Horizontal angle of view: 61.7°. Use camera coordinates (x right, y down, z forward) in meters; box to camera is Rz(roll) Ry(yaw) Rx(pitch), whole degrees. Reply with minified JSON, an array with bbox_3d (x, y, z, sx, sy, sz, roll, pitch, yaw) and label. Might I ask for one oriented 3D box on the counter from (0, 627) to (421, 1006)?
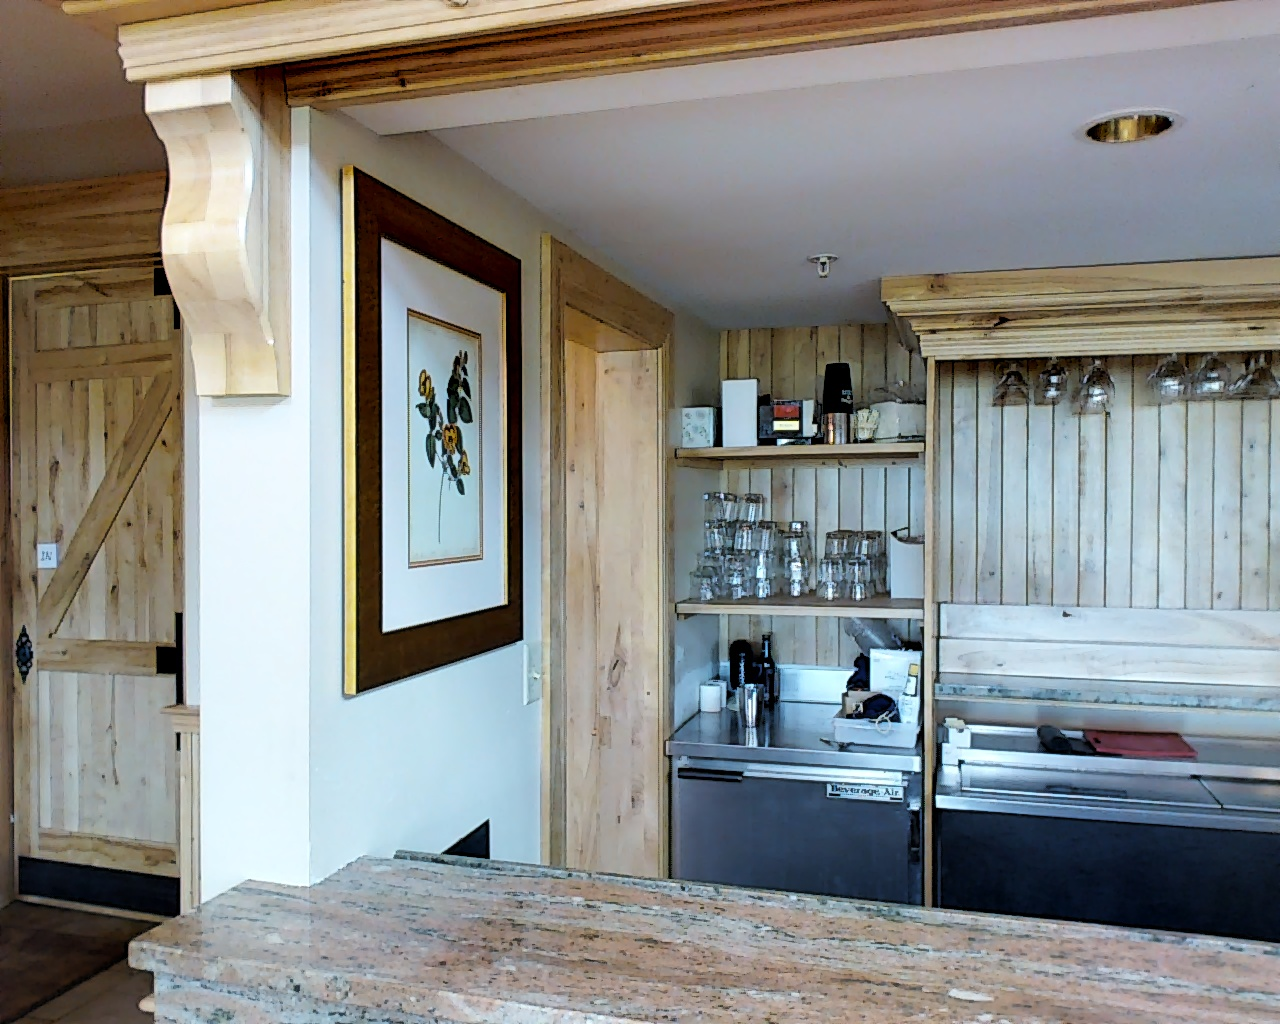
[{"bbox_3d":[-1.940,1.000,3.950,2.070,0.990,0.830,0,1,17],"label":"counter"}]
